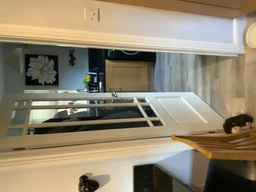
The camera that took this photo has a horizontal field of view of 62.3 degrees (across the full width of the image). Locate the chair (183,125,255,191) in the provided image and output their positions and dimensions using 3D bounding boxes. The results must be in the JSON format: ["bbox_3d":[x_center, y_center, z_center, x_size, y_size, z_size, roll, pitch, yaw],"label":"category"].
[{"bbox_3d":[0.810,0.560,1.330,0.420,0.790,0.670,-178,87,-71],"label":"chair"}]
